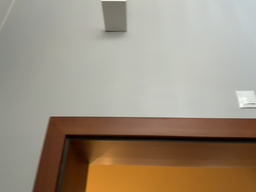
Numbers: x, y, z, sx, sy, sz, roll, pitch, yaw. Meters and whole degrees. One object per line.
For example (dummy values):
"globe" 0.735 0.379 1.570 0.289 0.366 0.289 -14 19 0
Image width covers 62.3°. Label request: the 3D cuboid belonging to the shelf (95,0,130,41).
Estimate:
"shelf" -0.070 -0.540 1.210 0.180 0.150 0.450 85 -174 -57
